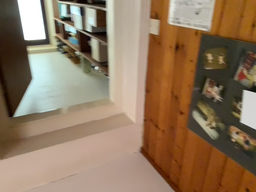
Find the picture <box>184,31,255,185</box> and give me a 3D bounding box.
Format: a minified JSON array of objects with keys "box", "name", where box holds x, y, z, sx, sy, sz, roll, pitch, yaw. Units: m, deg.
[{"box":[0.470,0.060,0.820,0.060,0.520,0.560,-13,-151,-26],"name":"picture"}]
